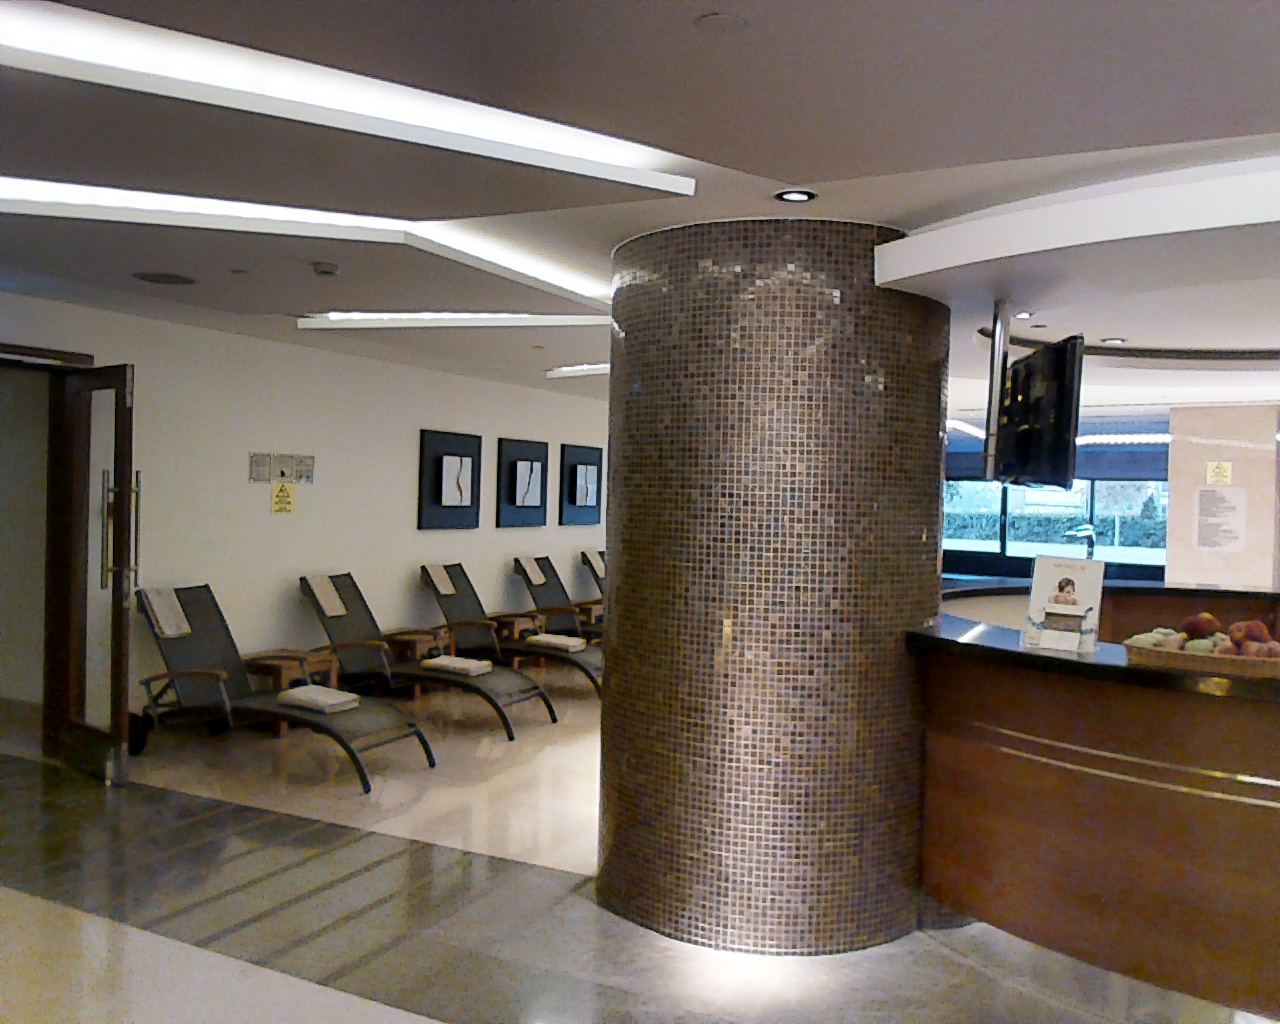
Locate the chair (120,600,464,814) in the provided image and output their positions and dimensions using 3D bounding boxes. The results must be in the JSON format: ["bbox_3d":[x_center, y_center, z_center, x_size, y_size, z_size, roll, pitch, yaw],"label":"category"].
[{"bbox_3d":[-1.970,1.030,6.080,1.790,0.910,0.770,1,0,25],"label":"chair"}]
